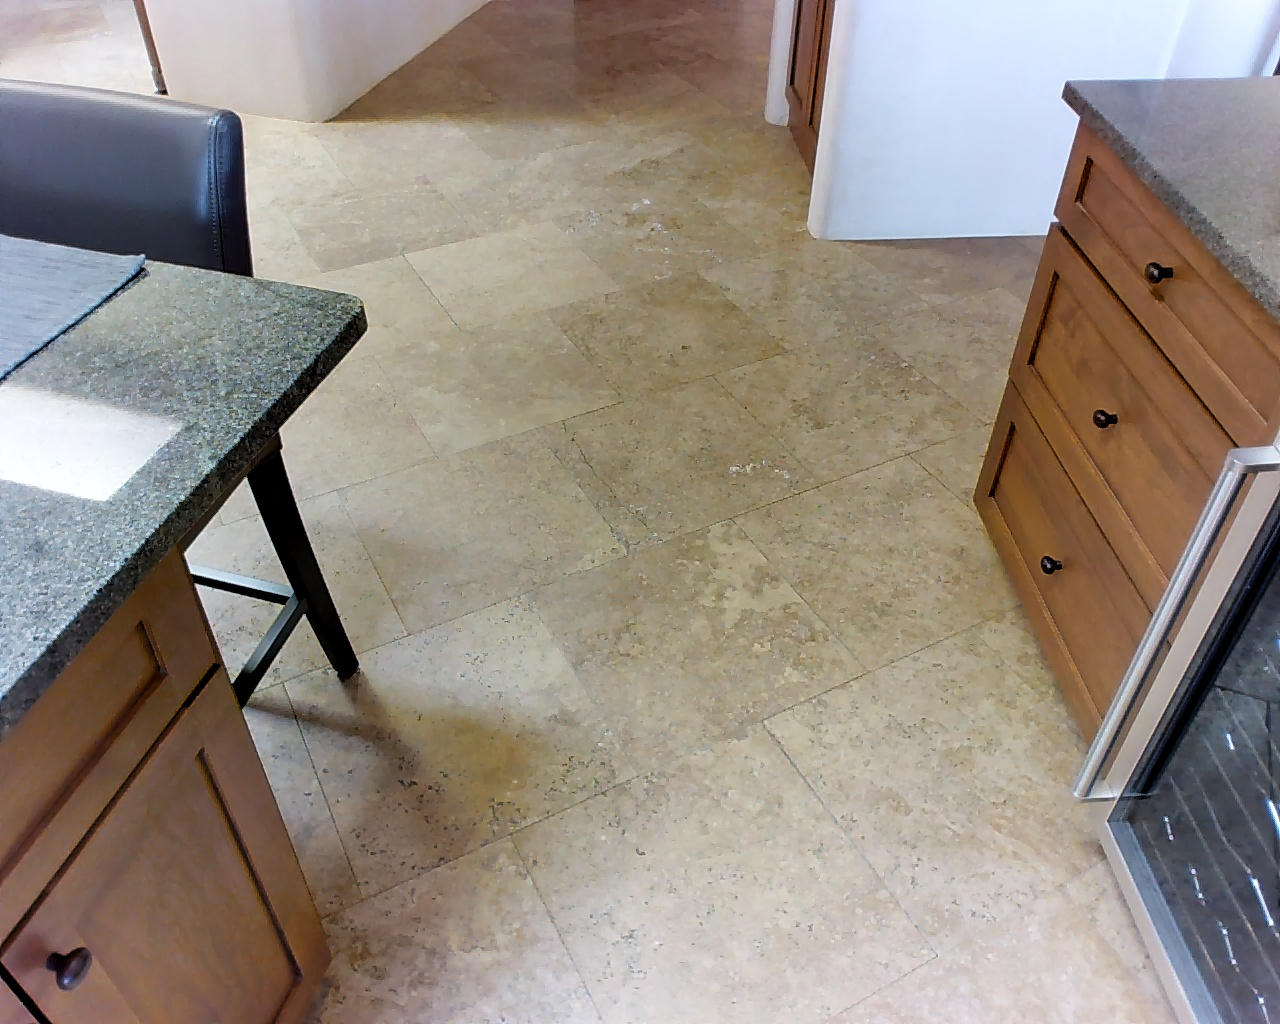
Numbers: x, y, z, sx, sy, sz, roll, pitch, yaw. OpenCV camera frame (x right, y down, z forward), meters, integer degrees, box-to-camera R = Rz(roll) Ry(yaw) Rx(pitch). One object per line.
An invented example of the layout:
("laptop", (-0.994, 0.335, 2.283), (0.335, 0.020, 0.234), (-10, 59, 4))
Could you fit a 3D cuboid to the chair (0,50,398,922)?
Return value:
("chair", (-0.750, -0.010, 1.450), (0.510, 0.990, 0.550), (12, 42, 12))
